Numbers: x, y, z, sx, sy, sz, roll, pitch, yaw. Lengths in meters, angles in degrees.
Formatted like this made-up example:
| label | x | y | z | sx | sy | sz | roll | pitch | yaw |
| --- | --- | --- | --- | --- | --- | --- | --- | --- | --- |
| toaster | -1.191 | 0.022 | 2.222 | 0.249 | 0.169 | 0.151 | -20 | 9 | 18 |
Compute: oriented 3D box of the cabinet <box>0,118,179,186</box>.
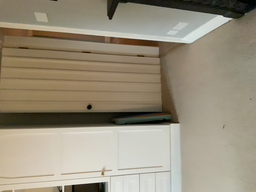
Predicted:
| label | x | y | z | sx | sy | sz | roll | pitch | yaw |
| --- | --- | --- | --- | --- | --- | --- | --- | --- | --- |
| cabinet | -0.620 | 0.550 | 2.370 | 0.650 | 2.290 | 0.530 | 169 | 101 | -74 |
